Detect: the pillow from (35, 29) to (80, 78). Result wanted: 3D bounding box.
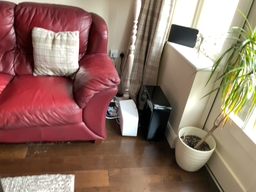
[{"bbox_3d":[-0.570,-0.350,1.770,0.320,0.340,0.200,2,24,-11],"label":"pillow"}]

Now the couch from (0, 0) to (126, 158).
[{"bbox_3d":[-1.250,-0.230,1.670,2.230,0.910,1.060,2,31,-13],"label":"couch"}]
